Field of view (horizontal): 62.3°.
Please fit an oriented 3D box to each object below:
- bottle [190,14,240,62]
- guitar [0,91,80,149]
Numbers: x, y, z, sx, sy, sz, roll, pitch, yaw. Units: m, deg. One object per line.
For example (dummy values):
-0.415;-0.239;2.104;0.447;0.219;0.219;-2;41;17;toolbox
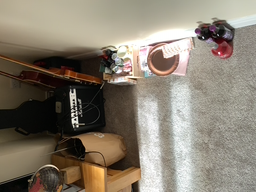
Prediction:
0.490;-0.310;1.190;0.200;0.210;0.190;-4;90;38;bottle
-0.950;0.180;1.790;0.360;1.040;0.400;-3;90;38;guitar
